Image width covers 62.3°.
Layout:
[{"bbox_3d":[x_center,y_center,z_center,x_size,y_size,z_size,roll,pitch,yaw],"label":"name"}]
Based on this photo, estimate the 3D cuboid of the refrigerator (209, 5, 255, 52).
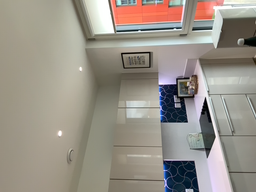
[{"bbox_3d":[1.440,-0.800,2.500,0.370,0.800,0.380,84,-172,-46],"label":"refrigerator"}]
